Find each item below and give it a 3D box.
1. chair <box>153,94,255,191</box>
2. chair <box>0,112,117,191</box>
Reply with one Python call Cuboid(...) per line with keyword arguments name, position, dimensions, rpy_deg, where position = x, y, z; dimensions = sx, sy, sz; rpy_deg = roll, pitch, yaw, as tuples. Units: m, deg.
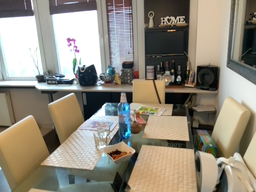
Cuboid(name="chair", position=(0.530, 0.540, 1.610), dimensions=(0.620, 1.000, 0.440), rpy_deg=(2, 16, 14))
Cuboid(name="chair", position=(-0.410, 0.650, 1.350), dimensions=(0.590, 0.990, 0.470), rpy_deg=(0, 16, 9))
